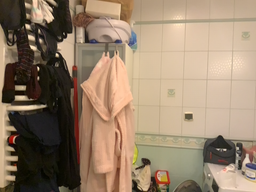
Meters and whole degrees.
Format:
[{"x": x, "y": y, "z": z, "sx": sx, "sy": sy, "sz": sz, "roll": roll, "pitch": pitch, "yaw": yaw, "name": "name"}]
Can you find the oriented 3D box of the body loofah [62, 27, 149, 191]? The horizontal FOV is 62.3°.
[{"x": -0.210, "y": 0.230, "z": 1.680, "sx": 0.380, "sy": 1.340, "sz": 0.630, "roll": -1, "pitch": 4, "yaw": -38, "name": "body loofah"}]
